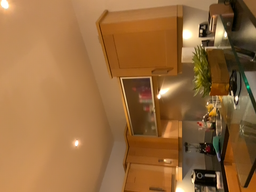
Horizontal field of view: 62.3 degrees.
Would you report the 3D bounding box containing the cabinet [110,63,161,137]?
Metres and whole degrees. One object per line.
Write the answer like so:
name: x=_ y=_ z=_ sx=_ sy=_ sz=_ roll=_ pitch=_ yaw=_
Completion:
cabinet: x=0.140 y=0.080 z=2.800 sx=0.320 sy=0.510 sz=0.980 roll=-74 pitch=-21 yaw=-49
